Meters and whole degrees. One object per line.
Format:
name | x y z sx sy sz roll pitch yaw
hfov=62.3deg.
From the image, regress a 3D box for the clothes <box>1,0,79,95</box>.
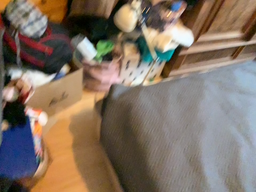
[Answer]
clothes | -0.520 -0.350 1.280 0.330 0.390 0.500 -12 57 -20
